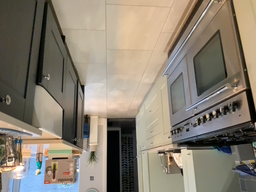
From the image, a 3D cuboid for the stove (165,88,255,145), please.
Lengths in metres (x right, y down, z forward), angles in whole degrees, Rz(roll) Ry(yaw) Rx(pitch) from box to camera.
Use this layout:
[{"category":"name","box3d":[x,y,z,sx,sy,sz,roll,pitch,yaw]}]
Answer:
[{"category":"stove","box3d":[0.710,0.200,1.410,0.630,0.160,1.080,0,163,-7]}]

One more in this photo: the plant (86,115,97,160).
[{"category":"plant","box3d":[-0.830,0.960,4.890,0.220,0.990,0.300,0,163,-6]}]
